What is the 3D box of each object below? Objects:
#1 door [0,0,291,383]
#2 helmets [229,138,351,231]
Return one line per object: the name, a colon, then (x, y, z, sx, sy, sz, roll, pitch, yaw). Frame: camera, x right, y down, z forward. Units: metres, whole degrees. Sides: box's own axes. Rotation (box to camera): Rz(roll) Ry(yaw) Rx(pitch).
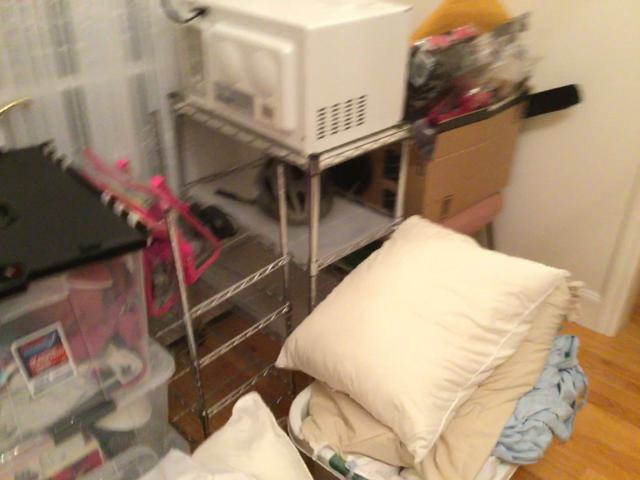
door: (-0.430, -0.390, 1.470, 0.050, 1.380, 0.820, 22, 37, 38)
helmets: (-0.080, -0.160, 1.580, 0.250, 0.140, 0.210, 22, 37, 38)
